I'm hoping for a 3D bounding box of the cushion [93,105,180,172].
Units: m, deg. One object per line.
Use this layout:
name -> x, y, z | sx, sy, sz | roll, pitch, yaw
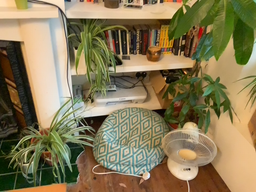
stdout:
cushion -> 0.030, 0.310, 1.680 | 0.590, 0.240, 0.480 | 0, 36, -7
